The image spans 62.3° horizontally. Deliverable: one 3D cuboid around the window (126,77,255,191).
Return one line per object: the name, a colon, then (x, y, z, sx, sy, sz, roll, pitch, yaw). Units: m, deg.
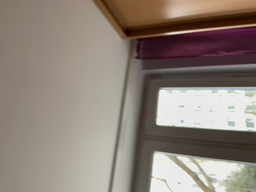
window: (0.750, 0.660, 1.350, 0.190, 1.560, 1.660, 46, -131, -57)
